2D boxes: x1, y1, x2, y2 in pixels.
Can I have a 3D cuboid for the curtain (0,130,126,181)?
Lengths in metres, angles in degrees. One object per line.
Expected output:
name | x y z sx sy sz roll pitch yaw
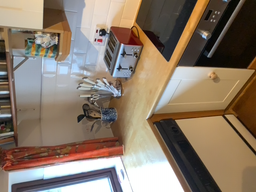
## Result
curtain | -0.500 0.450 1.680 0.180 0.950 0.200 -116 35 -41

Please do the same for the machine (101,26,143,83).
machine | -0.060 -0.300 1.570 0.240 0.170 0.320 -116 35 -40
